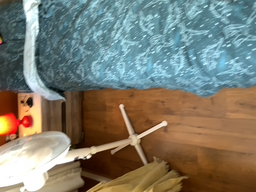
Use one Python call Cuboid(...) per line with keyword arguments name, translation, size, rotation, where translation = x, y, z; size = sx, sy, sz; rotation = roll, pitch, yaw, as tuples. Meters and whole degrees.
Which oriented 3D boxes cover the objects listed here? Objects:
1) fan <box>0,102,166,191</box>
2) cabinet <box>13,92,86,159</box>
Cuboid(name="fan", translation=(-0.280, 0.310, 1.240), size=(0.490, 1.060, 0.390), rotation=(16, 101, 36))
Cuboid(name="cabinet", translation=(-0.730, 0.230, 1.990), size=(0.450, 0.460, 0.520), rotation=(0, 92, 38))
